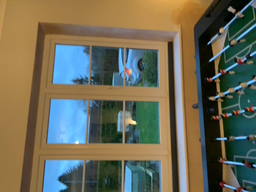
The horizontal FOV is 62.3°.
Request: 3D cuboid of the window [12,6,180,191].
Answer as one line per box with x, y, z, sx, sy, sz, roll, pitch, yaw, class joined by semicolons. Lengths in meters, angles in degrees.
-0.250;0.490;2.030;0.270;1.430;2.680;122;150;-76;window
